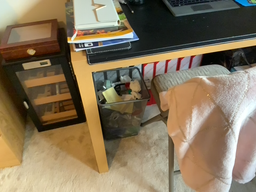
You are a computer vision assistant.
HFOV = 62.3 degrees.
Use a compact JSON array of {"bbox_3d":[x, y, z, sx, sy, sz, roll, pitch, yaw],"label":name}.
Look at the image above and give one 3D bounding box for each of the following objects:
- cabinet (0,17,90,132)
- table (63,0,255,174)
[{"bbox_3d":[-0.440,-0.110,1.260,0.310,0.580,0.290,-11,45,-9],"label":"cabinet"},{"bbox_3d":[0.460,-0.200,1.220,1.460,0.710,0.660,-11,45,-9],"label":"table"}]
